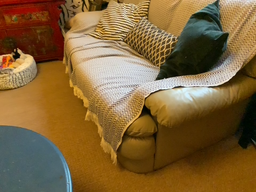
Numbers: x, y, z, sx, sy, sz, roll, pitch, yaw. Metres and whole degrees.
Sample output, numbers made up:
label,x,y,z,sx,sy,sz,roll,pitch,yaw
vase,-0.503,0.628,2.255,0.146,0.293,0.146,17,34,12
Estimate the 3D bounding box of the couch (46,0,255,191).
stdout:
label,x,y,z,sx,sy,sz,roll,pitch,yaw
couch,0.080,-0.380,1.560,1.040,0.820,1.680,-14,37,-20
